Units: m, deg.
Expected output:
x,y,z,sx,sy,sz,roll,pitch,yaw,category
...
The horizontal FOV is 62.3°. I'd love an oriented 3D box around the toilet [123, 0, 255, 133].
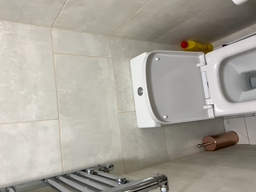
x,y,z,sx,sy,sz,roll,pitch,yaw,category
0.500,-0.080,1.110,0.610,0.800,0.410,-19,76,54,toilet
